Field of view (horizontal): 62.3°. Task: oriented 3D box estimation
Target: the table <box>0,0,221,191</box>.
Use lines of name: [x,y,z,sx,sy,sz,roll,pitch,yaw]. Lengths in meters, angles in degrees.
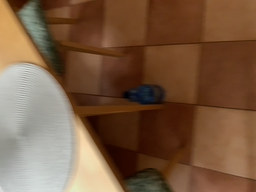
table: [-0.350,0.310,1.020,1.100,0.750,0.850,-44,71,23]
